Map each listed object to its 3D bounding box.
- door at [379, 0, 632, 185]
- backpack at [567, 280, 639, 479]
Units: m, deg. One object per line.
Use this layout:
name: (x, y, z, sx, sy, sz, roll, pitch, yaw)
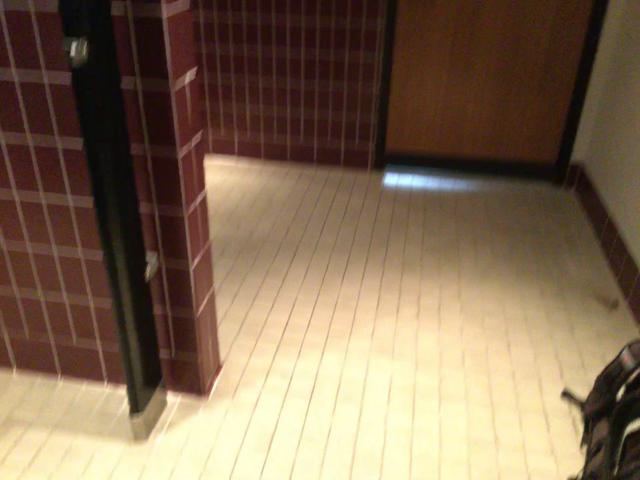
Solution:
door: (0.840, -1.000, 2.670, 1.040, 1.490, 0.100, 6, 30, 9)
backpack: (0.810, 0.430, 1.330, 0.360, 0.450, 0.440, 11, 31, 18)
